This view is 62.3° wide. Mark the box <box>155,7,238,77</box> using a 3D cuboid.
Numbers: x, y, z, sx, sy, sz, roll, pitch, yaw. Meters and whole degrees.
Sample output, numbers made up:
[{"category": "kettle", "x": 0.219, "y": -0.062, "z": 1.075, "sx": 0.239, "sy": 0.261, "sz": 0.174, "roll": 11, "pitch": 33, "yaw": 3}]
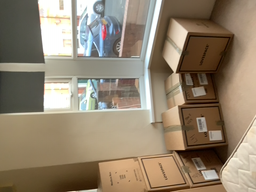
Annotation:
[{"category": "box", "x": 0.720, "y": -0.610, "z": 2.410, "sx": 0.540, "sy": 0.570, "sz": 0.570, "roll": -109, "pitch": 23, "yaw": -49}]

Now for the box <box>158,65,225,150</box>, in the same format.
[{"category": "box", "x": 0.720, "y": 0.140, "z": 2.510, "sx": 0.470, "sy": 0.500, "sz": 0.890, "roll": 146, "pitch": 122, "yaw": -72}]

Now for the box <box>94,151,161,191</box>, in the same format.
[{"category": "box", "x": -0.040, "y": 0.930, "z": 2.240, "sx": 0.450, "sy": 0.570, "sz": 0.440, "roll": -108, "pitch": 22, "yaw": -47}]
